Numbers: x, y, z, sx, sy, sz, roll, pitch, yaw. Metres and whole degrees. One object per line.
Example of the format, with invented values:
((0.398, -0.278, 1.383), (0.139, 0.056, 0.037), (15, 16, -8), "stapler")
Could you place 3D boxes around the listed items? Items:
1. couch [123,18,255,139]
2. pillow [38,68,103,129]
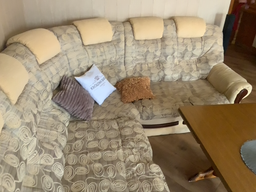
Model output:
((0.620, -0.270, 2.470), (1.190, 0.990, 1.040), (-3, 32, -9), "couch")
((-0.510, 0.020, 1.900), (0.220, 0.350, 0.450), (46, 46, 2), "pillow")
